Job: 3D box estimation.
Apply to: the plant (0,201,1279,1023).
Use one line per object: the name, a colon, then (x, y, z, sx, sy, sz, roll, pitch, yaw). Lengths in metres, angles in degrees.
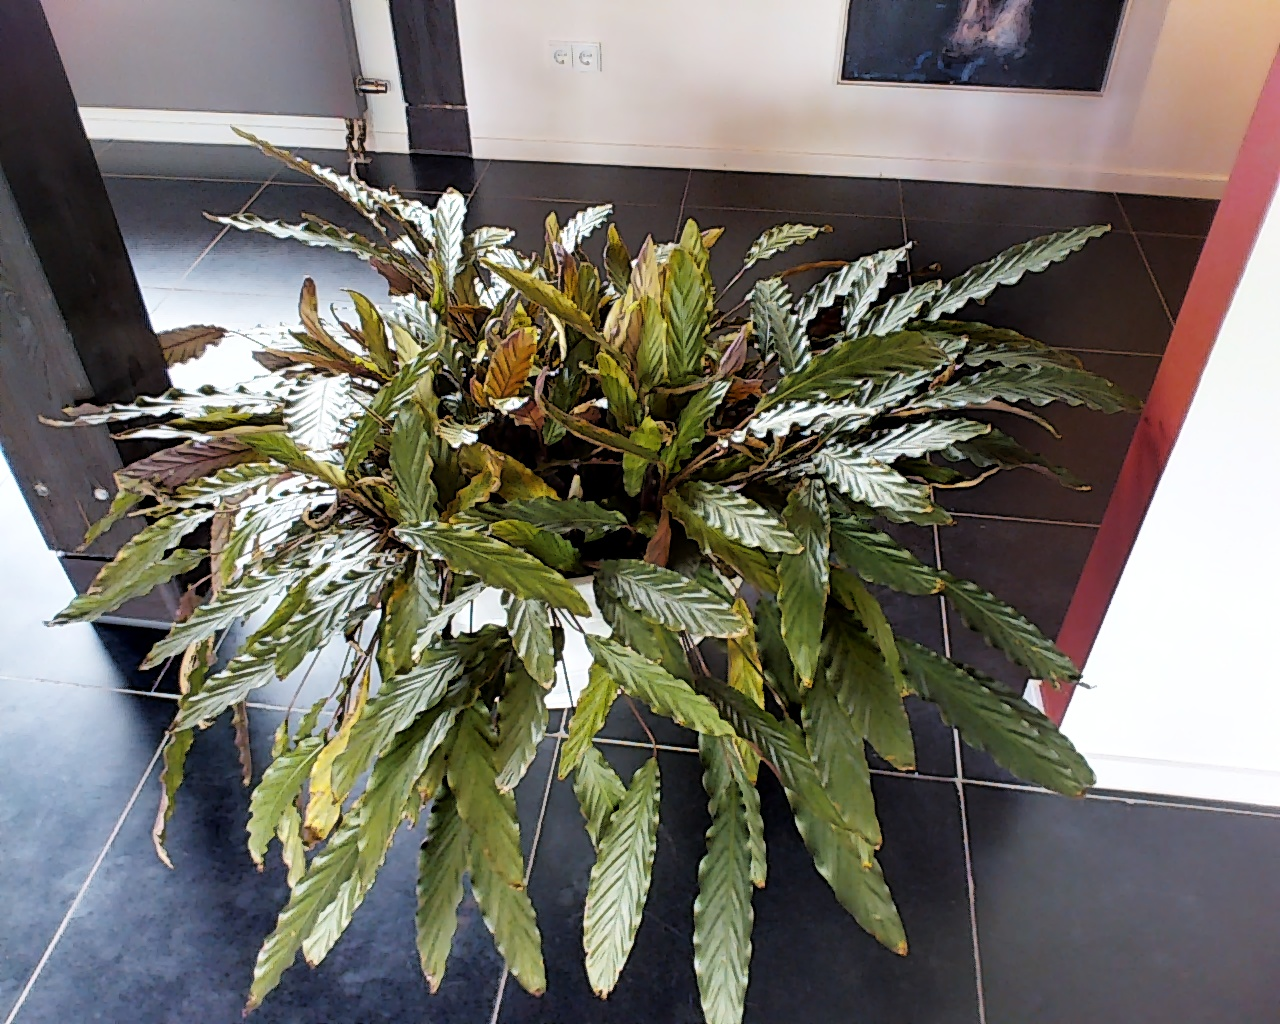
plant: (-0.140, 0.190, 1.250, 1.480, 0.770, 0.680, 5, 42, 6)
